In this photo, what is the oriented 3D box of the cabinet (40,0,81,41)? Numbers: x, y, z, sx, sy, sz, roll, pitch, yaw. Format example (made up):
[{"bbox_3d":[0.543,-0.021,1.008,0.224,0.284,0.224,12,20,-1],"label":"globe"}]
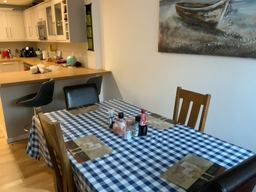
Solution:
[{"bbox_3d":[-1.320,-1.430,4.080,0.330,0.720,1.010,-13,20,-38],"label":"cabinet"}]
